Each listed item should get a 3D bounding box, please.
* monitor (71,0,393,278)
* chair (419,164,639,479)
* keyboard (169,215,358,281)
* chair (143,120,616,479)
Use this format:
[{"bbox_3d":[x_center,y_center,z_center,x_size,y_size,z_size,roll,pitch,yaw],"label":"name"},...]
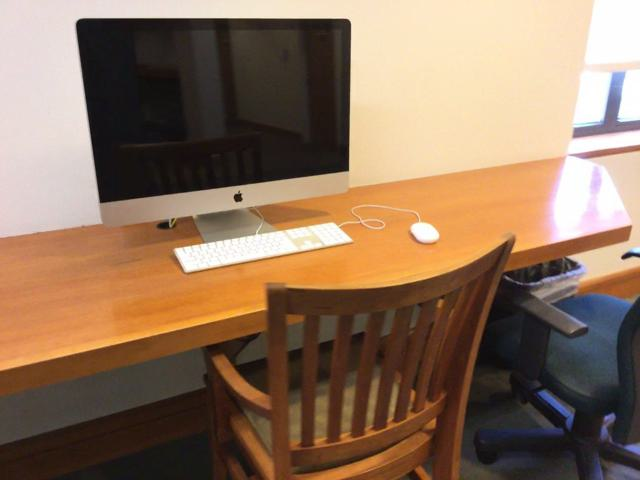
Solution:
[{"bbox_3d":[-0.200,-0.260,1.400,0.670,0.530,0.260,-10,28,-34],"label":"monitor"},{"bbox_3d":[0.810,0.310,1.640,0.600,0.840,0.700,-10,28,-34],"label":"chair"},{"bbox_3d":[-0.130,0.010,1.400,0.420,0.030,0.180,-10,28,-34],"label":"keyboard"},{"bbox_3d":[0.040,0.280,1.310,0.660,0.950,0.640,-6,25,-33],"label":"chair"}]
